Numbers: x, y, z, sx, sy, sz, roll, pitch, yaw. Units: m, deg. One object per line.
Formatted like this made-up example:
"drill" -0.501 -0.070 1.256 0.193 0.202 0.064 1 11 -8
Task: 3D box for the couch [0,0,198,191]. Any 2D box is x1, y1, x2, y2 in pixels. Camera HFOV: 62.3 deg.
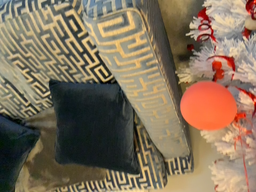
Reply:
"couch" -0.420 0.090 1.210 1.380 0.740 1.180 -11 140 16
